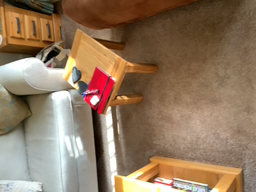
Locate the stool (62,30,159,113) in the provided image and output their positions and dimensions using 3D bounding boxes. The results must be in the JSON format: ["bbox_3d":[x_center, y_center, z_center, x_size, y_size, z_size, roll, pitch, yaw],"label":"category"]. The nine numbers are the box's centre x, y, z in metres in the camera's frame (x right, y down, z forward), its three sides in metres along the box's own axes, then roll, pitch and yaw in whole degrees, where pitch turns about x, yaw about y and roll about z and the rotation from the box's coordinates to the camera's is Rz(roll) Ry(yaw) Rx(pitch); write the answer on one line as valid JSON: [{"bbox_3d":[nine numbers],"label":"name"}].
[{"bbox_3d":[-0.130,-0.180,1.510,0.450,0.400,0.350,39,116,29],"label":"stool"}]
